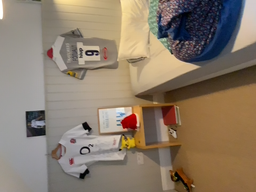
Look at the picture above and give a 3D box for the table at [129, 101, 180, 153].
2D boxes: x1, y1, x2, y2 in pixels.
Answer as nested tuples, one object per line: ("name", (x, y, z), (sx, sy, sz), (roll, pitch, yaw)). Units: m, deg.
("table", (0.320, 0.370, 2.650), (0.310, 0.500, 0.560), (160, 107, -70))
